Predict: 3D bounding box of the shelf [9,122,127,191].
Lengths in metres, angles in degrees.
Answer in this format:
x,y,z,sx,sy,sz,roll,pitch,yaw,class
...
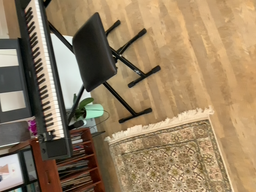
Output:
x,y,z,sx,sy,sz,roll,pitch,yaw,class
-0.450,0.840,1.770,0.540,0.680,1.070,-22,79,42,shelf

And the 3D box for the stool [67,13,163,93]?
x,y,z,sx,sy,sz,roll,pitch,yaw,class
-0.080,-0.260,1.460,0.330,0.490,0.360,-27,76,41,stool
